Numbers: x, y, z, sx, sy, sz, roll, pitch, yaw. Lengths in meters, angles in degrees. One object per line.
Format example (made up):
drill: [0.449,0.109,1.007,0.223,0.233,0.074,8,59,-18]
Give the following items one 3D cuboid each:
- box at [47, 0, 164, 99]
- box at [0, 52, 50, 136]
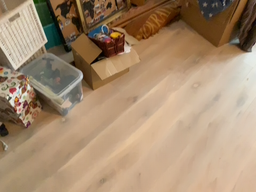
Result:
box: [-0.180,-0.450,1.710,0.580,0.390,0.670,-32,61,-23]
box: [-0.820,-0.030,1.400,0.400,0.390,0.290,25,57,15]
